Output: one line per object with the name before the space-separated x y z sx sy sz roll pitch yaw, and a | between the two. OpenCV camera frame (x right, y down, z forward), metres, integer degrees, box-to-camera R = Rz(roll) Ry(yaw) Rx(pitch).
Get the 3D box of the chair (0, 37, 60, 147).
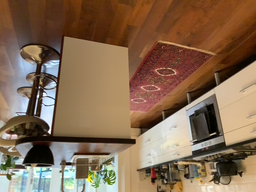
chair | -0.900 -0.030 1.960 0.380 0.910 0.430 1 157 -7
